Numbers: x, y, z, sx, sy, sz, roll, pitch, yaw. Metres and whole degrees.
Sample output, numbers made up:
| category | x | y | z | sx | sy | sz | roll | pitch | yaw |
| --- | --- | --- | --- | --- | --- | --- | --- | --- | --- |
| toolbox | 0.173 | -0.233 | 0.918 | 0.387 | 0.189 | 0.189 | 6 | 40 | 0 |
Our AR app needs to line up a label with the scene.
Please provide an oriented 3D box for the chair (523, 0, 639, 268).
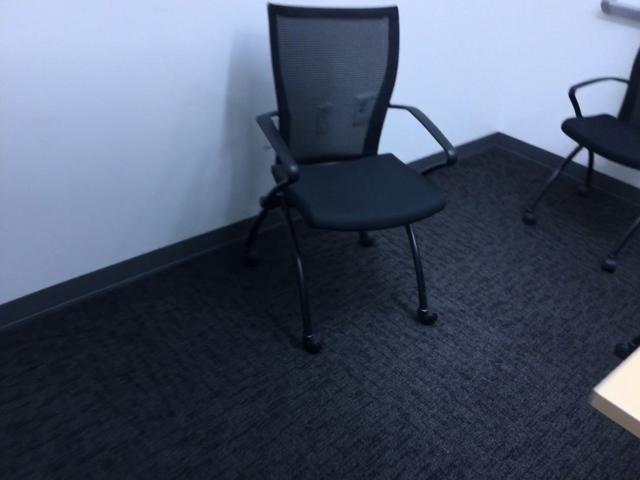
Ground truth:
| category | x | y | z | sx | sy | sz | roll | pitch | yaw |
| --- | --- | --- | --- | --- | --- | --- | --- | --- | --- |
| chair | 1.340 | -0.470 | 2.330 | 0.680 | 0.850 | 0.520 | -21 | 39 | -33 |

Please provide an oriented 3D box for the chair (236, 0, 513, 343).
| category | x | y | z | sx | sy | sz | roll | pitch | yaw |
| --- | --- | --- | --- | --- | --- | --- | --- | --- | --- |
| chair | 0.100 | -0.260 | 1.850 | 0.570 | 0.890 | 0.590 | -10 | 34 | -20 |
